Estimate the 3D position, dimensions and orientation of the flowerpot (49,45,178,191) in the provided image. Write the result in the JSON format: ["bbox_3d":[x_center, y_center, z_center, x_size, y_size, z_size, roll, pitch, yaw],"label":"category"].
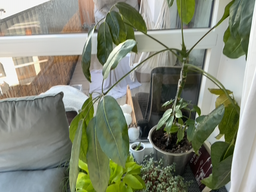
[{"bbox_3d":[-0.060,0.200,0.840,0.290,0.670,0.470,-4,30,-7],"label":"flowerpot"}]
